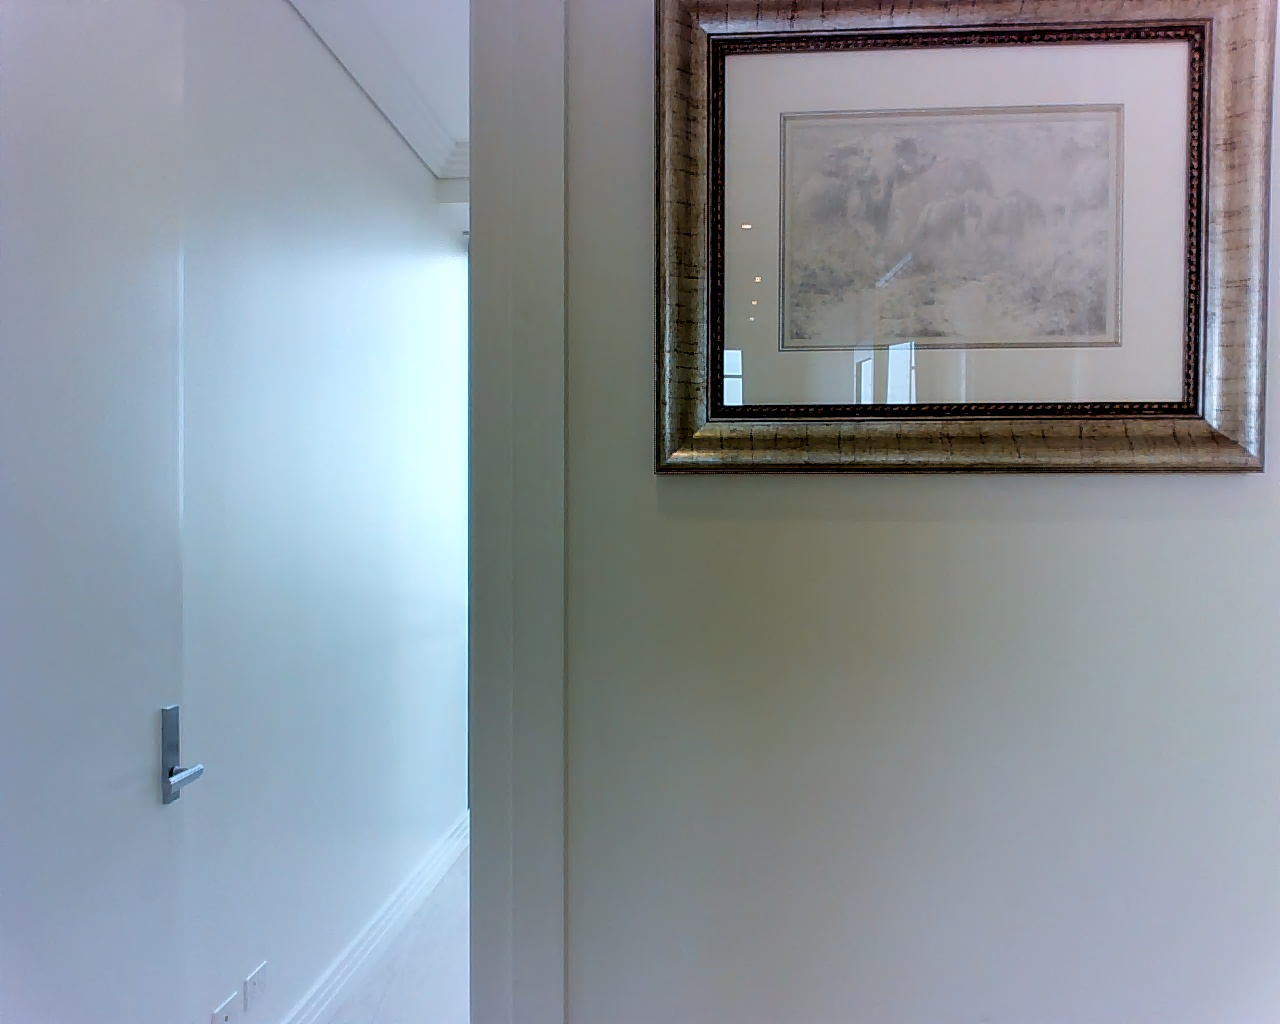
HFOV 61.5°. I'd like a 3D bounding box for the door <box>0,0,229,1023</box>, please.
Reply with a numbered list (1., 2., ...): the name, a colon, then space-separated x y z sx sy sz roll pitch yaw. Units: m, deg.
1. door: -0.840 0.180 1.640 0.070 2.361 0.780 0 1 4
